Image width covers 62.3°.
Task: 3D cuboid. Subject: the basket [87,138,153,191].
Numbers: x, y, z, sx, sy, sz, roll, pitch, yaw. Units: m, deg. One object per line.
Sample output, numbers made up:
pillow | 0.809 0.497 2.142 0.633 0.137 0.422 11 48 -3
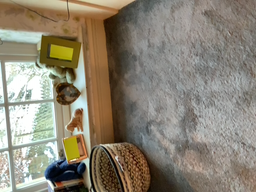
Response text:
basket | -0.050 0.440 1.210 0.310 0.220 0.320 -2 92 51
